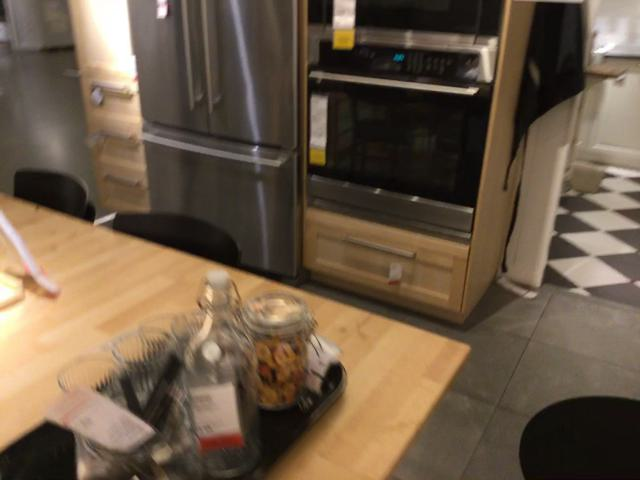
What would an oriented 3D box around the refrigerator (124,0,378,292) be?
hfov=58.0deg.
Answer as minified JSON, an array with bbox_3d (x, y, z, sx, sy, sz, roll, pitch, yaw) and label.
[{"bbox_3d":[-0.310,-0.720,2.770,0.900,1.600,0.700,16,28,28],"label":"refrigerator"}]
